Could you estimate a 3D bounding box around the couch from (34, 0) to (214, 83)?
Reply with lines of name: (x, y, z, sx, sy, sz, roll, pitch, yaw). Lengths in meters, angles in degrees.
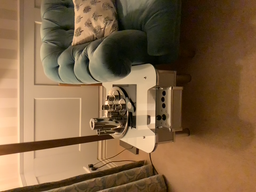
couch: (-0.160, -1.290, 1.670, 1.310, 0.890, 2.350, 4, 95, 57)

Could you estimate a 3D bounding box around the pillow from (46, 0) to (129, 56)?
pillow: (-0.290, -0.600, 1.580, 0.450, 0.390, 0.130, -55, 5, -21)
